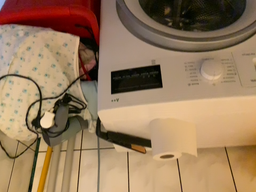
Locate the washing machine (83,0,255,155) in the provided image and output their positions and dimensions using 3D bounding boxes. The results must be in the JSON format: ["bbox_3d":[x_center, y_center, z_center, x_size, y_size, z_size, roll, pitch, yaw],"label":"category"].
[{"bbox_3d":[0.210,-0.260,0.880,0.610,0.860,0.480,-3,150,3],"label":"washing machine"}]
